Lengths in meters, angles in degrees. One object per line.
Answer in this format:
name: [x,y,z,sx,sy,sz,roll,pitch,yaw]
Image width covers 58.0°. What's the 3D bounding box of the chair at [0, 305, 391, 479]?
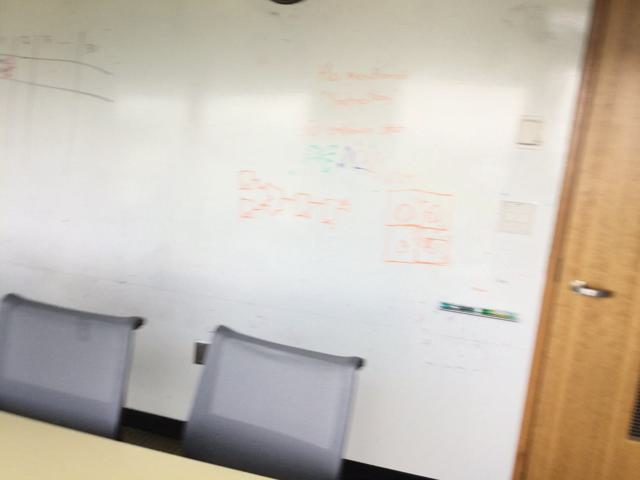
chair: [-0.310,0.740,1.460,0.710,0.910,0.670,10,9,21]
